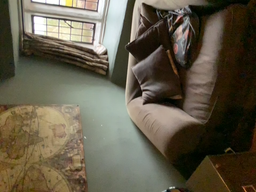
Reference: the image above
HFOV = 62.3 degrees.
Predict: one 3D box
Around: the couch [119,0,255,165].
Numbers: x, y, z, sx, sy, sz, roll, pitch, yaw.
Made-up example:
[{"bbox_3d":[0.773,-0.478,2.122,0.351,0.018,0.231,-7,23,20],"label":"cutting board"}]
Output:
[{"bbox_3d":[0.490,-0.330,1.900,1.130,0.720,1.350,-139,53,-65],"label":"couch"}]
